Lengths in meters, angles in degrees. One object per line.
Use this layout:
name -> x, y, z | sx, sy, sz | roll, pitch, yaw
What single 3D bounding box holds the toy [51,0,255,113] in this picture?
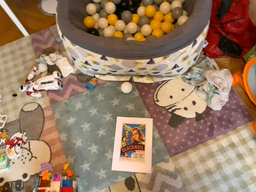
toy -> 0.040, -0.500, 1.270 | 0.840, 0.400, 0.850 | -24, 68, -8
